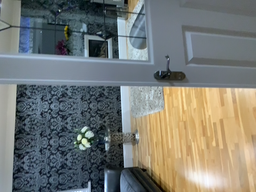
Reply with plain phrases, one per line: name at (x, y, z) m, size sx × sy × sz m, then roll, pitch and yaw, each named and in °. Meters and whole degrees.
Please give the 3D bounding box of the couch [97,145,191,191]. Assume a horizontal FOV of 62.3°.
couch at (0.090, 1.580, 3.110) m, size 1.580 × 0.830 × 1.260 m, roll -171°, pitch 81°, yaw -72°
